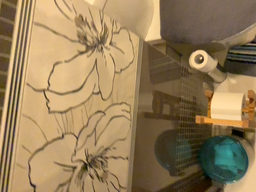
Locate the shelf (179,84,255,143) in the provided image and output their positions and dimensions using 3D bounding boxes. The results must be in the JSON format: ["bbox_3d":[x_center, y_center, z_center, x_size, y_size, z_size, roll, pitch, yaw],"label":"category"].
[{"bbox_3d":[0.420,0.080,0.930,0.210,0.460,0.180,6,86,35],"label":"shelf"}]
